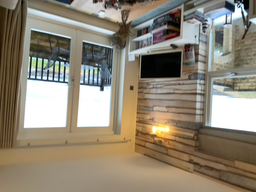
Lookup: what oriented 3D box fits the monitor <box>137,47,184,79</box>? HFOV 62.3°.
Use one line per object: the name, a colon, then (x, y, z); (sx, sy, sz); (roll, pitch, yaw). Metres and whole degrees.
monitor: (0.500, -0.510, 3.420); (0.790, 0.470, 0.050); (3, 178, 36)
